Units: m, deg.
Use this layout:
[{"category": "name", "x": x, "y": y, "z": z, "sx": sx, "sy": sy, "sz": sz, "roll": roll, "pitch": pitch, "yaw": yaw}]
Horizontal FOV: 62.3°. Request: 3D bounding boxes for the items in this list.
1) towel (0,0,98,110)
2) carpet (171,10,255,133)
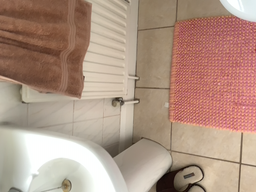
[{"category": "towel", "x": -0.250, "y": -0.180, "z": 0.630, "sx": 0.080, "sy": 0.400, "sz": 0.420, "roll": 4, "pitch": 93, "yaw": 29}, {"category": "carpet", "x": 0.610, "y": -0.110, "z": 0.940, "sx": 0.850, "sy": 0.020, "sz": 0.550, "roll": 0, "pitch": 91, "yaw": 29}]
